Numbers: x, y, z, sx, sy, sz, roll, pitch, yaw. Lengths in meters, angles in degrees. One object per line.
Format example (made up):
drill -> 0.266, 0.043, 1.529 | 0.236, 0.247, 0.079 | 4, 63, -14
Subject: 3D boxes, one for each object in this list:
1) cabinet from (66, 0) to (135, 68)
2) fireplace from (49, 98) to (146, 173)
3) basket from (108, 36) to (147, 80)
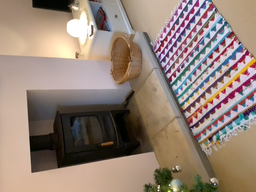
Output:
cabinet -> -0.440, -1.120, 2.660 | 0.590, 0.440, 1.500 | -56, 44, 47
fireplace -> -0.310, 0.340, 2.030 | 0.320, 0.760, 0.550 | -58, 42, 46
basket -> -0.020, -0.350, 2.010 | 0.320, 0.210, 0.240 | -59, 42, 45
